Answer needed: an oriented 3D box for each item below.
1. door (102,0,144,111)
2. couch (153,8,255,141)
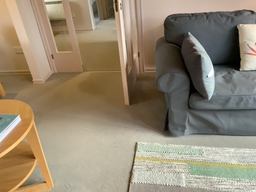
[{"bbox_3d":[-0.030,-0.990,2.010,0.200,2.100,0.940,1,33,10],"label":"door"},{"bbox_3d":[1.150,-0.230,1.790,1.810,0.820,0.830,-2,32,5],"label":"couch"}]
